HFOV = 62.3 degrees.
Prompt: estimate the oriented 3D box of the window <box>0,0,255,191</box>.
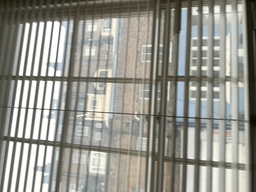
[{"bbox_3d":[0.160,0.100,0.920,0.060,2.340,2.390,32,-119,-72],"label":"window"}]
